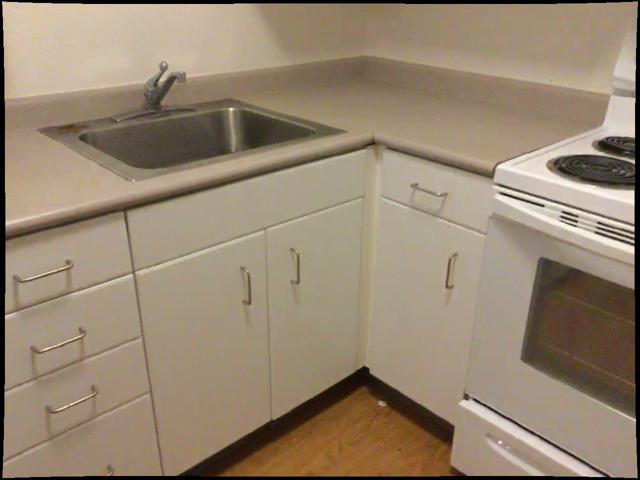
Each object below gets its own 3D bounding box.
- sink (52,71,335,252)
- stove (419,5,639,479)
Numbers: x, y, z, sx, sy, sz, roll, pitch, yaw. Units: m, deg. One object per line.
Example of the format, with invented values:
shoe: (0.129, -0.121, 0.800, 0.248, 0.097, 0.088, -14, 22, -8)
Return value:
sink: (-0.340, -0.260, 1.590, 0.530, 0.260, 0.550, -23, 34, -37)
stove: (0.849, 0.110, 1.390, 0.730, 1.171, 0.870, -23, 34, -37)
